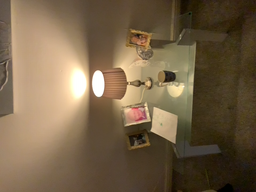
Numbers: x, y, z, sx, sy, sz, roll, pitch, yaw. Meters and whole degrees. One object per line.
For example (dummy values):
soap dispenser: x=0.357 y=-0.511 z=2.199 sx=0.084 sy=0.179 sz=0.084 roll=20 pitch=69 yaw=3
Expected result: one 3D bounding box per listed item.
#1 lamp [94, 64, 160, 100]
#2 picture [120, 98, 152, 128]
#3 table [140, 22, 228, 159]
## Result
lamp: x=-0.010 y=-0.120 z=1.740 sx=0.240 sy=0.480 sz=0.250 roll=18 pitch=107 yaw=61
picture: x=0.070 y=0.150 z=1.880 sx=0.090 sy=0.240 sz=0.210 roll=-164 pitch=61 yaw=-84
table: x=0.430 y=-0.060 z=1.810 sx=0.580 sy=0.370 sz=0.950 roll=15 pitch=104 yaw=61
